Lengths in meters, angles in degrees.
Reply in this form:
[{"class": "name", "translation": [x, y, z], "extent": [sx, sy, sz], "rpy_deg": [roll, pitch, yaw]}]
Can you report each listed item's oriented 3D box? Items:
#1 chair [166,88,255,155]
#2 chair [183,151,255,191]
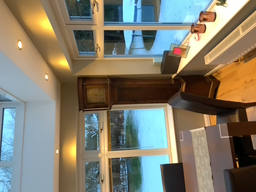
[{"class": "chair", "translation": [0.910, 0.250, 2.060], "extent": [0.380, 0.950, 0.560], "rpy_deg": [117, 150, -74]}, {"class": "chair", "translation": [0.990, 0.620, 1.540], "extent": [0.590, 0.960, 0.380], "rpy_deg": [119, 149, -76]}]
